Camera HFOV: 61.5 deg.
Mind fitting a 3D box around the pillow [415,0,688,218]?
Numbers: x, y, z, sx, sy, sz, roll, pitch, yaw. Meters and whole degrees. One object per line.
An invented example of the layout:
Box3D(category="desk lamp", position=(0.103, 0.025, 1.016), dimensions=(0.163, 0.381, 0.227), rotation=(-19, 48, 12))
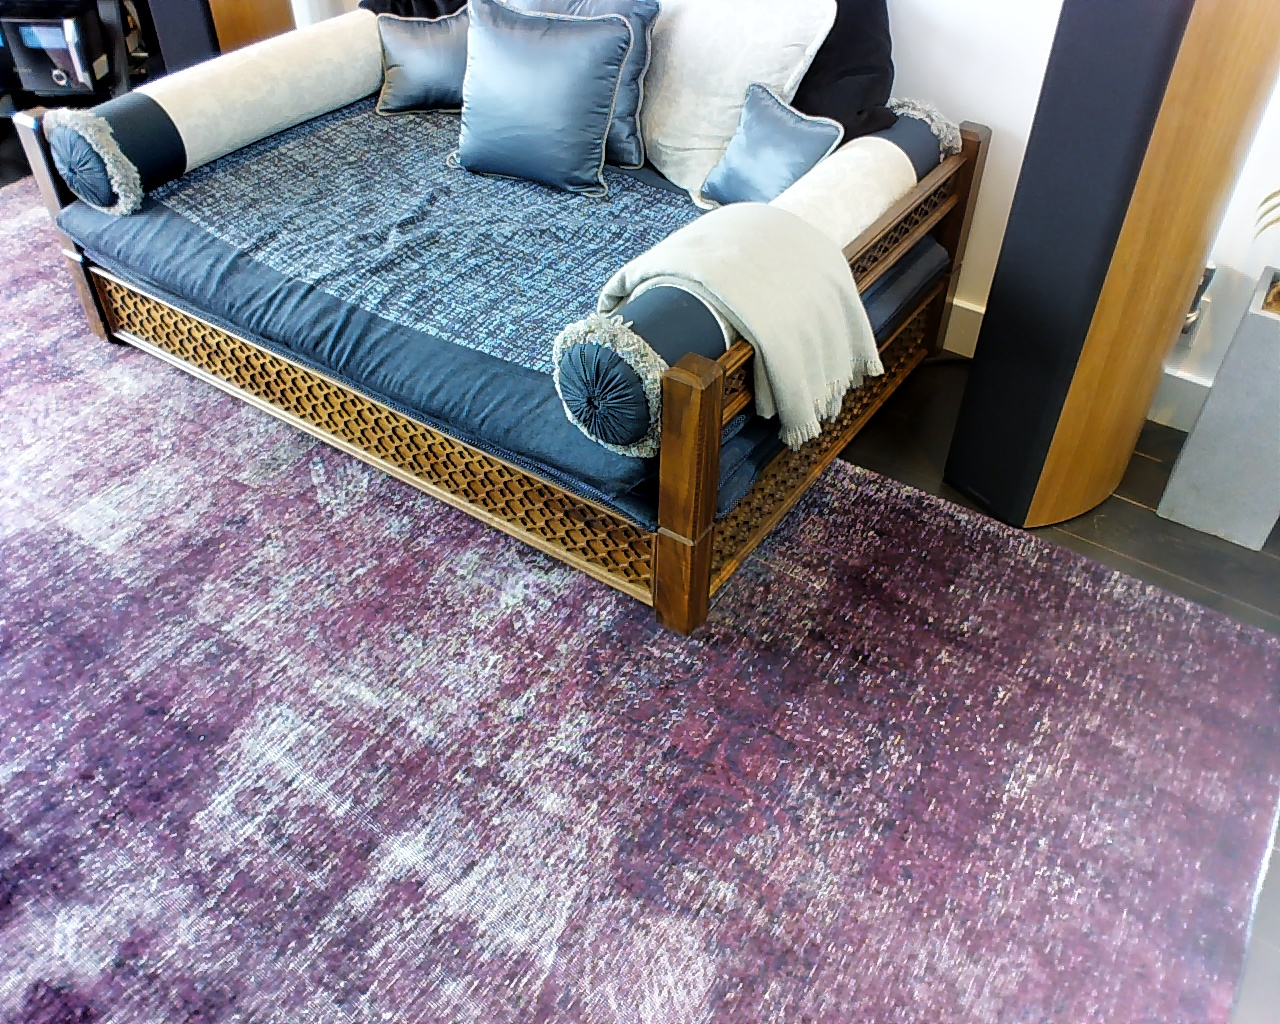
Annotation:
Box3D(category="pillow", position=(-0.200, -0.980, 2.520), dimensions=(0.470, 0.380, 0.240), rotation=(-14, 24, 27))

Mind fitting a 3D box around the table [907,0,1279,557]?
Box3D(category="table", position=(0.930, -0.540, 2.060), dimensions=(0.530, 1.160, 0.360), rotation=(-26, 48, -26))

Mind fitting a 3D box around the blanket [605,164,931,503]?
Box3D(category="blanket", position=(0.230, -0.350, 2.030), dimensions=(0.450, 0.390, 0.380), rotation=(23, 47, 23))
